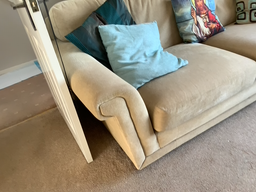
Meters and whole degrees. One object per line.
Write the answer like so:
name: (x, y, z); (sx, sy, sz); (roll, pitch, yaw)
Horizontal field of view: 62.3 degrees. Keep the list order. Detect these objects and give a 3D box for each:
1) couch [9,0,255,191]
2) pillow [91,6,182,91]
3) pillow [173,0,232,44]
couch: (0.600, -0.460, 1.680); (2.460, 0.900, 1.100); (-24, 38, -20)
pillow: (0.060, -0.320, 1.430); (0.480, 0.440, 0.180); (-18, 2, -23)
pillow: (0.600, -0.670, 1.690); (0.440, 0.390, 0.140); (-20, 23, -18)
